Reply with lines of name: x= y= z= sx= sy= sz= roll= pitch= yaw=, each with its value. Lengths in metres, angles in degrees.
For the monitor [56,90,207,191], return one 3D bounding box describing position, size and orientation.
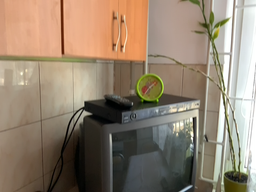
monitor: x=0.000 y=0.250 z=1.010 sx=0.530 sy=0.480 sz=0.450 roll=-5 pitch=11 yaw=-35
